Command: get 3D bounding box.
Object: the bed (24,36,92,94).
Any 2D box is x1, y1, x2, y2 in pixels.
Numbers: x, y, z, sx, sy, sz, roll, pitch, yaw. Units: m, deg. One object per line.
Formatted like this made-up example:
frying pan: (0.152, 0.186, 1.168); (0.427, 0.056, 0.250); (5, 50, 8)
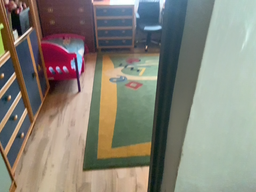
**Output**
bed: (-0.990, -0.580, 3.380); (0.740, 0.310, 1.550); (-2, 32, -5)
